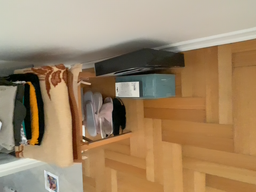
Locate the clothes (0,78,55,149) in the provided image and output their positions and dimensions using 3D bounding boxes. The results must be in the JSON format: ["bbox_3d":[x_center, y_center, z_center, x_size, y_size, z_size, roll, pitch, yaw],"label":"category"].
[{"bbox_3d":[-0.580,0.070,1.070,0.330,0.260,0.290,-2,92,42],"label":"clothes"}]
